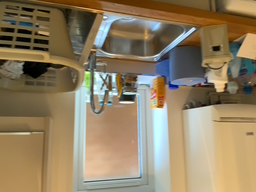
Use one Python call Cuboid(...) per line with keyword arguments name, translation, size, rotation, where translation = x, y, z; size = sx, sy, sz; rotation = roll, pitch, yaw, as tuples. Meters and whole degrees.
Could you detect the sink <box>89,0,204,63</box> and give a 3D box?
Cuboid(name="sink", translation=(0.050, -0.380, 1.190), size=(0.470, 0.190, 0.540), rotation=(3, 170, -16))
